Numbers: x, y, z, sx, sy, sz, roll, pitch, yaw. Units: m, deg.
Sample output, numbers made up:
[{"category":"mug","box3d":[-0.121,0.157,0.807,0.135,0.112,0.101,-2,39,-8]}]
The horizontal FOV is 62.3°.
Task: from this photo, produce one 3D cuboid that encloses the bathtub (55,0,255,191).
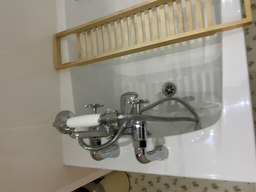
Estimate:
[{"category":"bathtub","box3d":[0.120,-0.550,0.990,0.690,0.560,1.660,-6,85,28]}]
